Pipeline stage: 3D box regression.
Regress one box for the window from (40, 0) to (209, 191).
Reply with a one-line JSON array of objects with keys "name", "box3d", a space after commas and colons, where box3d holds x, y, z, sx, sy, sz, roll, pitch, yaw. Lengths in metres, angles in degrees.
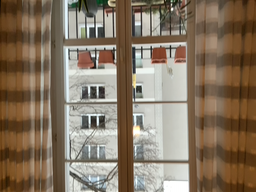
[{"name": "window", "box3d": [-0.050, -0.060, 1.910, 1.460, 2.690, 0.130, 0, 180, 4]}]
